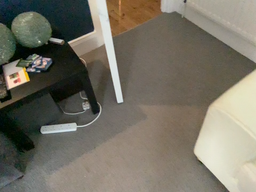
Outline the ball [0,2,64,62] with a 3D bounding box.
[{"bbox_3d":[-0.580,-0.390,1.280,0.270,0.190,0.200,-30,56,-17],"label":"ball"}]
